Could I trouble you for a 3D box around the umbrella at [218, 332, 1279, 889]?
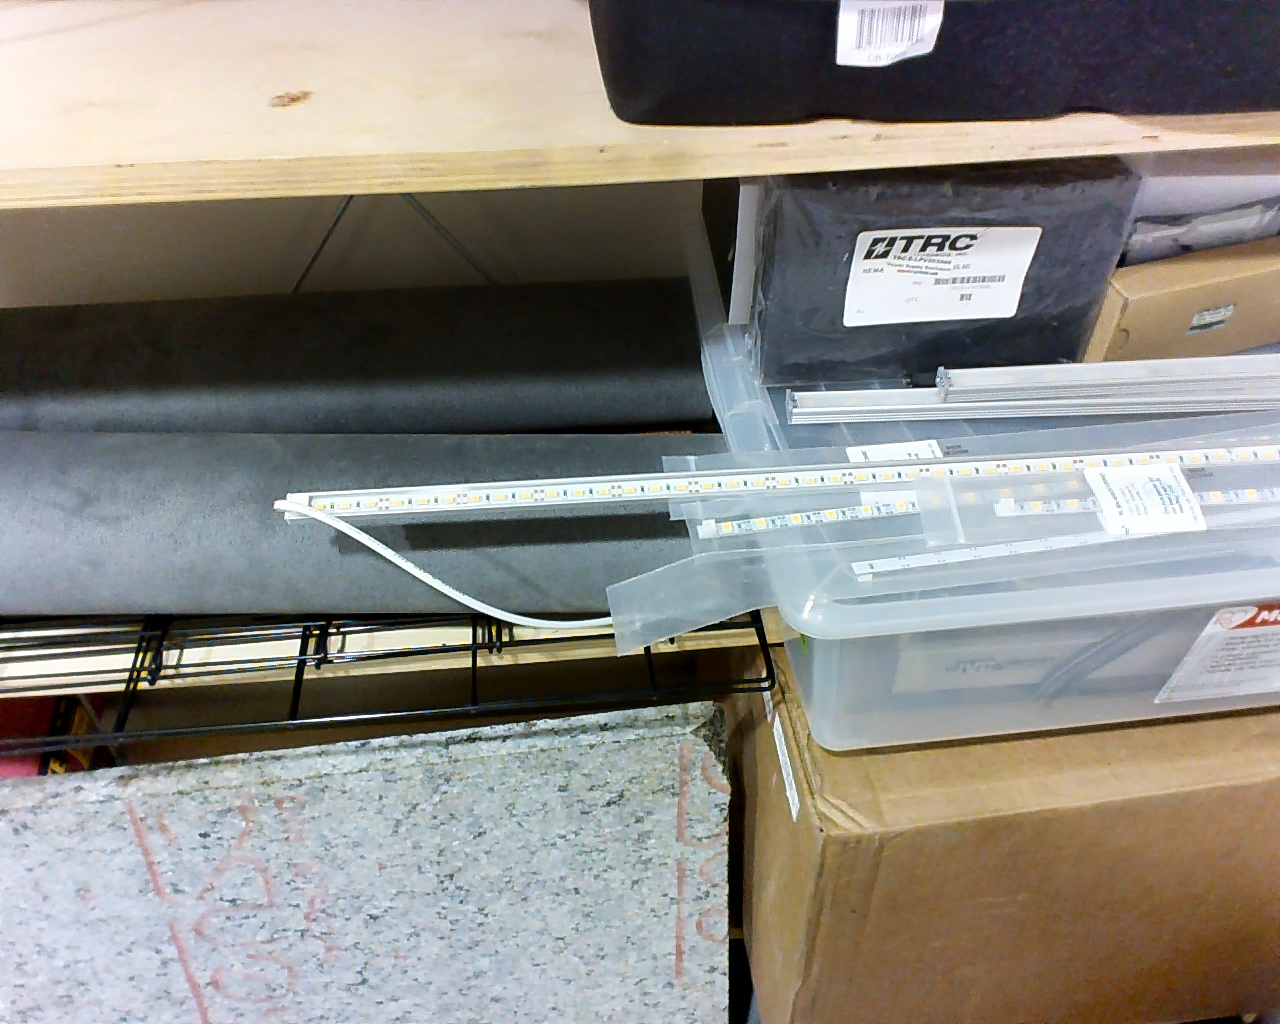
[{"bbox_3d":[0.280,0.040,0.610,0.930,0.220,0.160,-4,42,-4],"label":"umbrella"}]
